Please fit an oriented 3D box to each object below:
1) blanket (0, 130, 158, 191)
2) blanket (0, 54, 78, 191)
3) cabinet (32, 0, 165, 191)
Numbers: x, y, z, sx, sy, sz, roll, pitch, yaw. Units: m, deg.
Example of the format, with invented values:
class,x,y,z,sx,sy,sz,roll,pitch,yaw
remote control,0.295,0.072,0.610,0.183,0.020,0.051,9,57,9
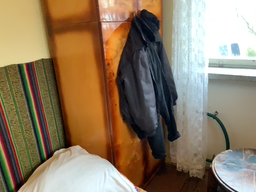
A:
class,x,y,z,sx,sy,sz,roll,pitch,yaw
blanket,-0.420,0.650,1.380,0.970,0.360,0.780,10,22,35
blanket,-0.950,0.370,1.380,0.150,1.090,1.370,9,22,33
cabinet,-0.140,-0.090,1.990,0.630,2.100,0.940,9,22,33
